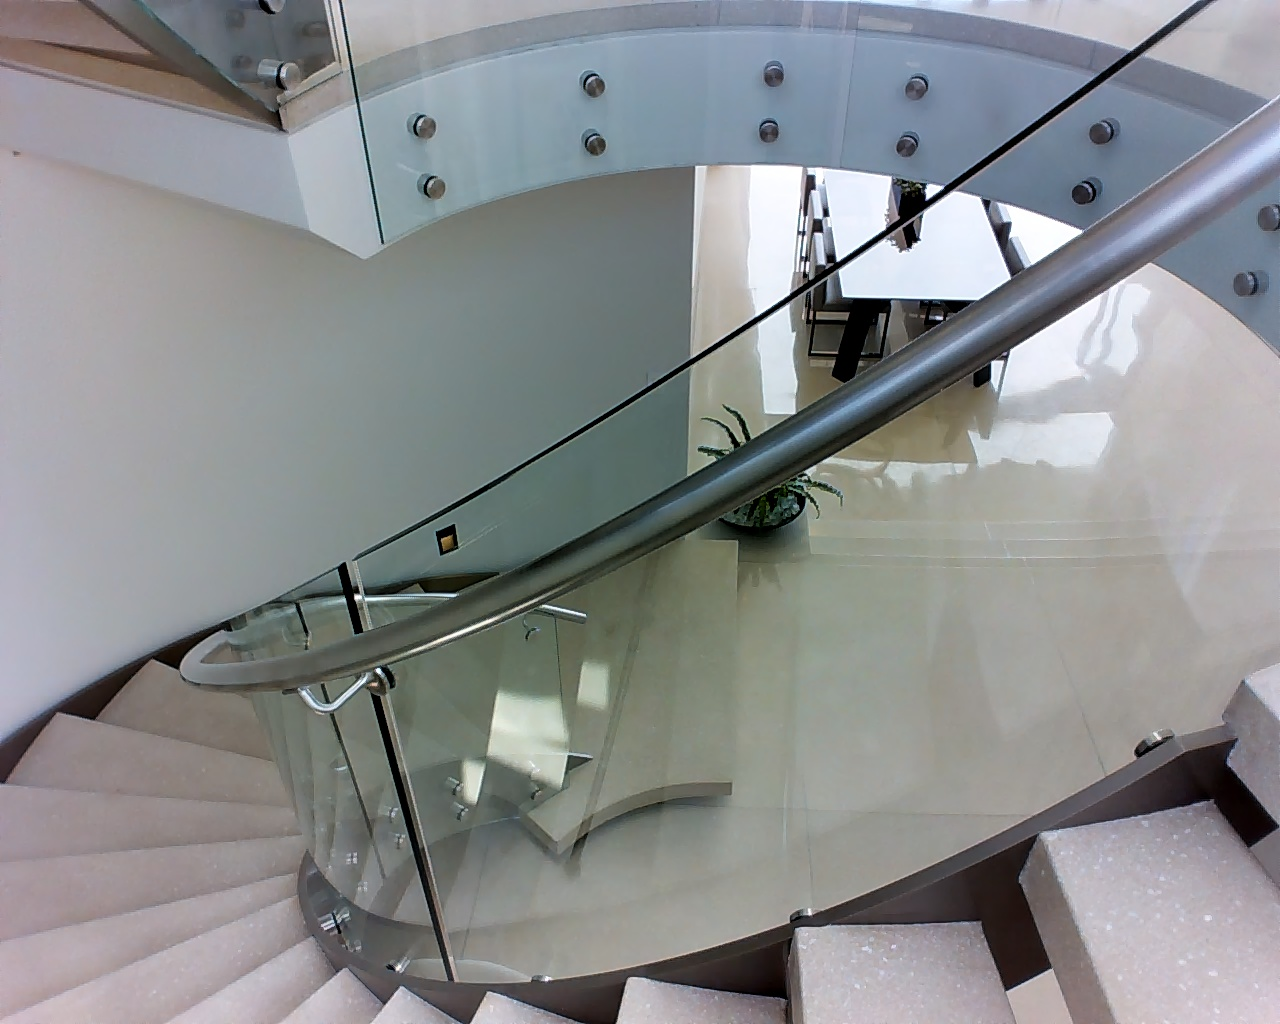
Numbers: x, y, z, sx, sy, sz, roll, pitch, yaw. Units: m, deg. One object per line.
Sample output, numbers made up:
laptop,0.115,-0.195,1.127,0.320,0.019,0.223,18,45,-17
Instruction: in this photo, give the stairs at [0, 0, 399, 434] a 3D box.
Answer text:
stairs,-1.420,-0.840,2.350,1.290,0.480,1.100,19,45,21
